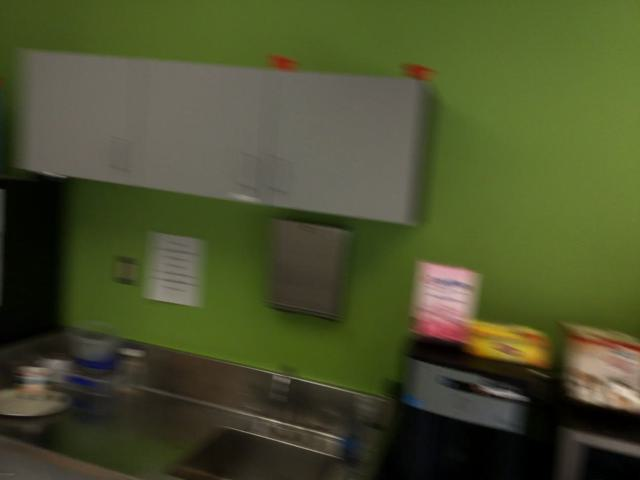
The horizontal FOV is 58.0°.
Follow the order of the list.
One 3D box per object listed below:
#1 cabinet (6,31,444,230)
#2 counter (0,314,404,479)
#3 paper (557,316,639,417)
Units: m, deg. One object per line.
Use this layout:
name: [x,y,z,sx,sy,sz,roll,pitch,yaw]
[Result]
cabinet: [-0.350,-0.380,1.960,1.440,0.490,0.270,9,4,15]
counter: [-0.500,0.570,1.930,1.450,0.290,0.640,9,4,15]
paper: [0.810,0.350,1.620,0.220,0.210,0.180,9,4,15]
